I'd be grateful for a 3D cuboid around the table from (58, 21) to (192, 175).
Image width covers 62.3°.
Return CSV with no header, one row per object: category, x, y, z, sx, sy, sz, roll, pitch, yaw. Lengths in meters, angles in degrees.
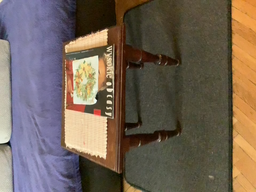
table,-0.010,0.000,0.920,0.380,0.430,0.460,3,92,46
